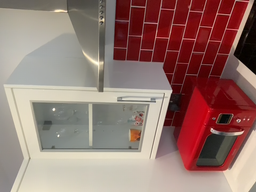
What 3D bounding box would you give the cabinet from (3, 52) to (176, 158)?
[{"bbox_3d":[-0.200,0.070,1.270,0.320,0.800,0.520,-97,11,-55],"label":"cabinet"}]
